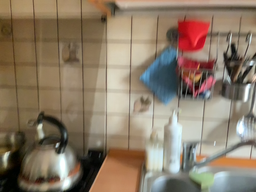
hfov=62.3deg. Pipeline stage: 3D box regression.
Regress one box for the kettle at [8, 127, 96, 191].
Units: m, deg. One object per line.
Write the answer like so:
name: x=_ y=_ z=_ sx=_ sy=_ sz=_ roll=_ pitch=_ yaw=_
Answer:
kettle: x=-0.250 y=0.230 z=0.780 sx=0.190 sy=0.130 sz=0.290 roll=3 pitch=11 yaw=6

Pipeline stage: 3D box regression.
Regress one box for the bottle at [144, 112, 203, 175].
bottle: x=0.170 y=0.180 z=0.840 sx=0.200 sy=0.190 sz=0.140 roll=3 pitch=11 yaw=6
